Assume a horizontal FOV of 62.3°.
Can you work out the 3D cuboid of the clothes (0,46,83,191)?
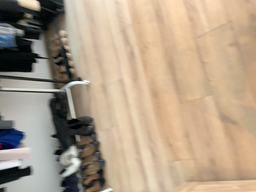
[{"bbox_3d":[-1.070,0.360,1.350,0.700,1.200,1.210,-19,80,39],"label":"clothes"}]
